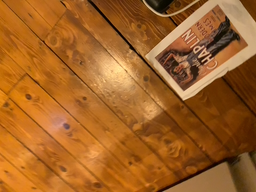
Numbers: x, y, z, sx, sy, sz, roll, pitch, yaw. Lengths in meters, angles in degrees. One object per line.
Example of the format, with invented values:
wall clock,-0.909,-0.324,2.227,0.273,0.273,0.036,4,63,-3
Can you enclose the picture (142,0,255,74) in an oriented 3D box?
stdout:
picture,0.220,-0.230,0.610,0.290,0.020,0.210,-35,101,23
